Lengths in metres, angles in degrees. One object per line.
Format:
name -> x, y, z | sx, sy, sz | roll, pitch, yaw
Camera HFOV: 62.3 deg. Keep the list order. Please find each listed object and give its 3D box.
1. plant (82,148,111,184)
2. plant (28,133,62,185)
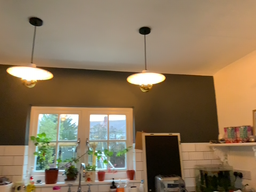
plant -> -0.360, 0.800, 2.460 | 0.320, 0.370, 0.150 | 1, -13, -10
plant -> -0.920, 0.690, 2.370 | 0.300, 0.540, 0.100 | 1, -13, -9
